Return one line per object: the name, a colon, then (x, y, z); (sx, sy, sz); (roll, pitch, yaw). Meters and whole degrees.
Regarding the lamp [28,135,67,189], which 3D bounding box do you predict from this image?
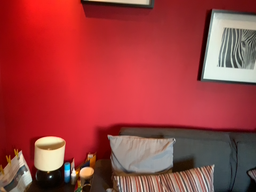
lamp: (-0.630, 0.520, 1.690); (0.230, 0.350, 0.200); (3, 13, -1)
